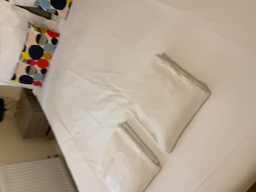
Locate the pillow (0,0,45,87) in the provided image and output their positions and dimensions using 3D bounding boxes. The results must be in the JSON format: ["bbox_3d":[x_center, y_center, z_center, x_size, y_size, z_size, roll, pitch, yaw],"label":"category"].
[{"bbox_3d":[-1.030,-0.450,1.820,0.680,0.400,0.110,-60,29,20],"label":"pillow"}]

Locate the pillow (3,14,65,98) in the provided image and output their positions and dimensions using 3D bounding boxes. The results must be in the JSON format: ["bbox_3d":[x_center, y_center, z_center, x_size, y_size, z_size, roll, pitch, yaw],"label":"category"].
[{"bbox_3d":[-0.840,-0.330,1.890,0.660,0.300,0.160,-57,26,25],"label":"pillow"}]
